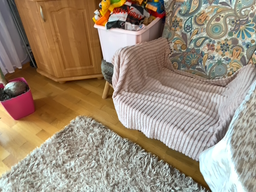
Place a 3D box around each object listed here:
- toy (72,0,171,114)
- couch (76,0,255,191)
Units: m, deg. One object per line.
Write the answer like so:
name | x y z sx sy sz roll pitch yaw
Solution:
toy | -0.010 -0.450 1.840 0.420 0.910 0.680 26 48 27
couch | 0.420 -0.200 1.400 0.880 1.030 1.010 25 48 26
